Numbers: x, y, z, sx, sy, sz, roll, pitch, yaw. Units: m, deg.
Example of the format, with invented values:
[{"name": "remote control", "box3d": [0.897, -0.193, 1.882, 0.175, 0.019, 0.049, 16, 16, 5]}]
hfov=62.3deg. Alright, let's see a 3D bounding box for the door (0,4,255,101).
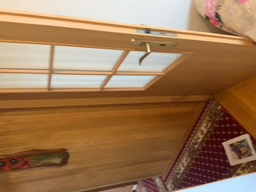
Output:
[{"name": "door", "box3d": [0.030, -0.160, 1.320, 0.880, 2.110, 0.120, 149, 116, -64]}]
